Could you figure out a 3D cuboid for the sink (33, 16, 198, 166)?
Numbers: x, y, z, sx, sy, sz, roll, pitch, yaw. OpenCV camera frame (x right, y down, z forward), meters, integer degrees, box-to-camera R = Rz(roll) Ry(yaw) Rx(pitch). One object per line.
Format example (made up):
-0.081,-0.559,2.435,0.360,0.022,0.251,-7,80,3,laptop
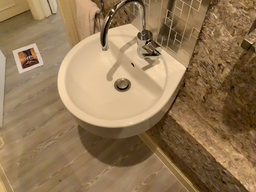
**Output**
-0.050,-0.050,0.770,0.380,0.150,0.410,-34,64,-20,sink
